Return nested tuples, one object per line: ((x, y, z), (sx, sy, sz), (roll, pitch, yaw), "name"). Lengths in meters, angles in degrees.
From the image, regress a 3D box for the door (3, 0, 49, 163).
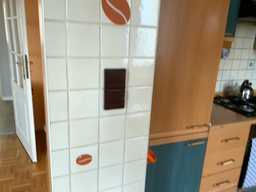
((-1.180, -0.360, 2.420), (0.160, 2.040, 0.870), (-10, 21, -38), "door")
